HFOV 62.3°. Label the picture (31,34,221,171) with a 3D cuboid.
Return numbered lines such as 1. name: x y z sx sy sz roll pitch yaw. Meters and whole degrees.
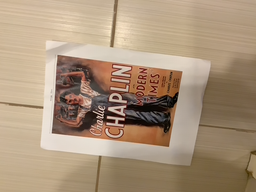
1. picture: -0.010 0.020 0.390 0.320 0.010 0.220 7 101 -3
